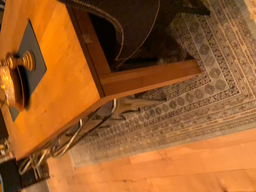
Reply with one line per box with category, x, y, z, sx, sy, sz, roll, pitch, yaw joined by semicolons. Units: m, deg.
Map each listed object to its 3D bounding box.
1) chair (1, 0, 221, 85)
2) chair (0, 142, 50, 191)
chair;-0.070;-0.460;1.120;0.570;0.900;0.490;-28;81;50
chair;-2.180;1.430;4.280;0.740;0.830;0.620;-32;78;49
